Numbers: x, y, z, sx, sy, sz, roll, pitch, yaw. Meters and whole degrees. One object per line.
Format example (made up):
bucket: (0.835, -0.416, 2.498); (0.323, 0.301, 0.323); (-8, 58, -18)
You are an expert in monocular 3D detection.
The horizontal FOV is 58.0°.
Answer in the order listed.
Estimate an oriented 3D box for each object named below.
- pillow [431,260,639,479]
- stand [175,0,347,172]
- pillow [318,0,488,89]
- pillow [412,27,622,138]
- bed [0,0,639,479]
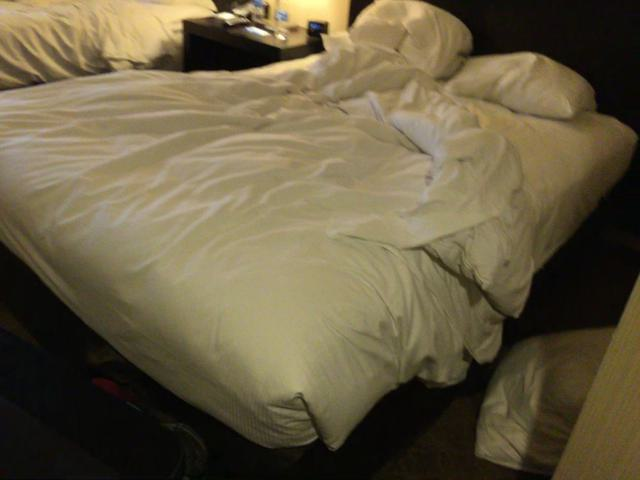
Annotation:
pillow: (0.720, 0.390, 1.730); (0.430, 0.300, 0.670); (29, 36, 31)
stand: (-0.370, -0.950, 3.300); (0.790, 0.790, 0.520); (29, 36, 31)
pillow: (0.360, -0.950, 2.620); (0.610, 0.320, 0.370); (29, 36, 31)
pillow: (0.770, -0.650, 2.290); (0.630, 0.220, 0.450); (29, 36, 31)
bed: (0.100, -0.480, 1.930); (1.770, 1.560, 2.120); (29, 36, 31)
